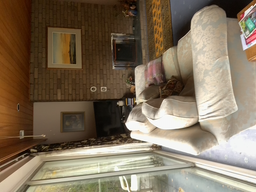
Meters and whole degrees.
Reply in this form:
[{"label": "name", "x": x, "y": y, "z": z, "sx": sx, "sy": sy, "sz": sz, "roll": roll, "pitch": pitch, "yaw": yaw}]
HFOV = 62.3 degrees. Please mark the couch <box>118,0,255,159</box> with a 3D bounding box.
[{"label": "couch", "x": 0.550, "y": -0.080, "z": 2.380, "sx": 1.850, "sy": 0.900, "sz": 1.140, "roll": 157, "pitch": 111, "yaw": -73}]
